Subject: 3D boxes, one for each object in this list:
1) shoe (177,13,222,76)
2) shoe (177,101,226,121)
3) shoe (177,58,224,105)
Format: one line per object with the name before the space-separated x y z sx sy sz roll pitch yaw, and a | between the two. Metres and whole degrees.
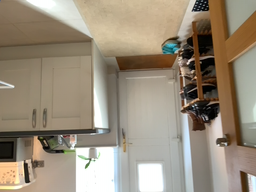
shoe | 0.670 -0.460 2.100 0.240 0.370 0.670 -3 172 5
shoe | 0.690 0.160 2.100 0.250 0.140 0.660 -2 172 0
shoe | 0.680 -0.110 2.110 0.260 0.310 0.680 -3 172 4
